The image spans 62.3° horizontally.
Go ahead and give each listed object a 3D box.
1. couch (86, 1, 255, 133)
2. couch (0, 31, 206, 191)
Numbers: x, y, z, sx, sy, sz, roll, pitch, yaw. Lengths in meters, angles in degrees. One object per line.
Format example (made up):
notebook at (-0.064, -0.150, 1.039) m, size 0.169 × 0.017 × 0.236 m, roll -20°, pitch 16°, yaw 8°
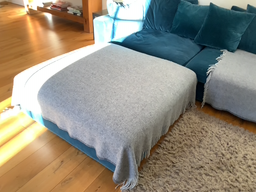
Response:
couch at (1.310, -0.350, 2.470) m, size 3.610 × 0.650 × 1.320 m, roll 25°, pitch 40°, yaw 26°
couch at (-0.180, -0.070, 2.030) m, size 1.340 × 0.500 × 1.260 m, roll 25°, pitch 40°, yaw 26°
